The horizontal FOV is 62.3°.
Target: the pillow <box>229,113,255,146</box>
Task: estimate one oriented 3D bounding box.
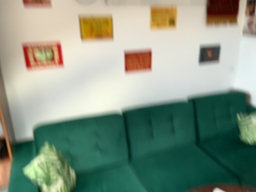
[{"bbox_3d":[1.230,0.330,2.130,0.320,0.260,0.130,-18,-1,31],"label":"pillow"}]

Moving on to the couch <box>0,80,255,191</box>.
[{"bbox_3d":[0.330,0.530,1.920,2.460,0.860,0.980,-9,21,-21],"label":"couch"}]
